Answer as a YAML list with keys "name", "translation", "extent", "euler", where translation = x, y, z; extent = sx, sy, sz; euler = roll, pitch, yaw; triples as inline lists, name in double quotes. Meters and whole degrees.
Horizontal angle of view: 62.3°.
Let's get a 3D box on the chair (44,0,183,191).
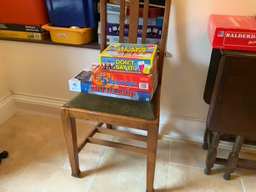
- name: "chair"
  translation: [-0.010, -0.060, 1.120]
  extent: [0.460, 0.930, 0.530]
  euler: [8, 31, 12]
